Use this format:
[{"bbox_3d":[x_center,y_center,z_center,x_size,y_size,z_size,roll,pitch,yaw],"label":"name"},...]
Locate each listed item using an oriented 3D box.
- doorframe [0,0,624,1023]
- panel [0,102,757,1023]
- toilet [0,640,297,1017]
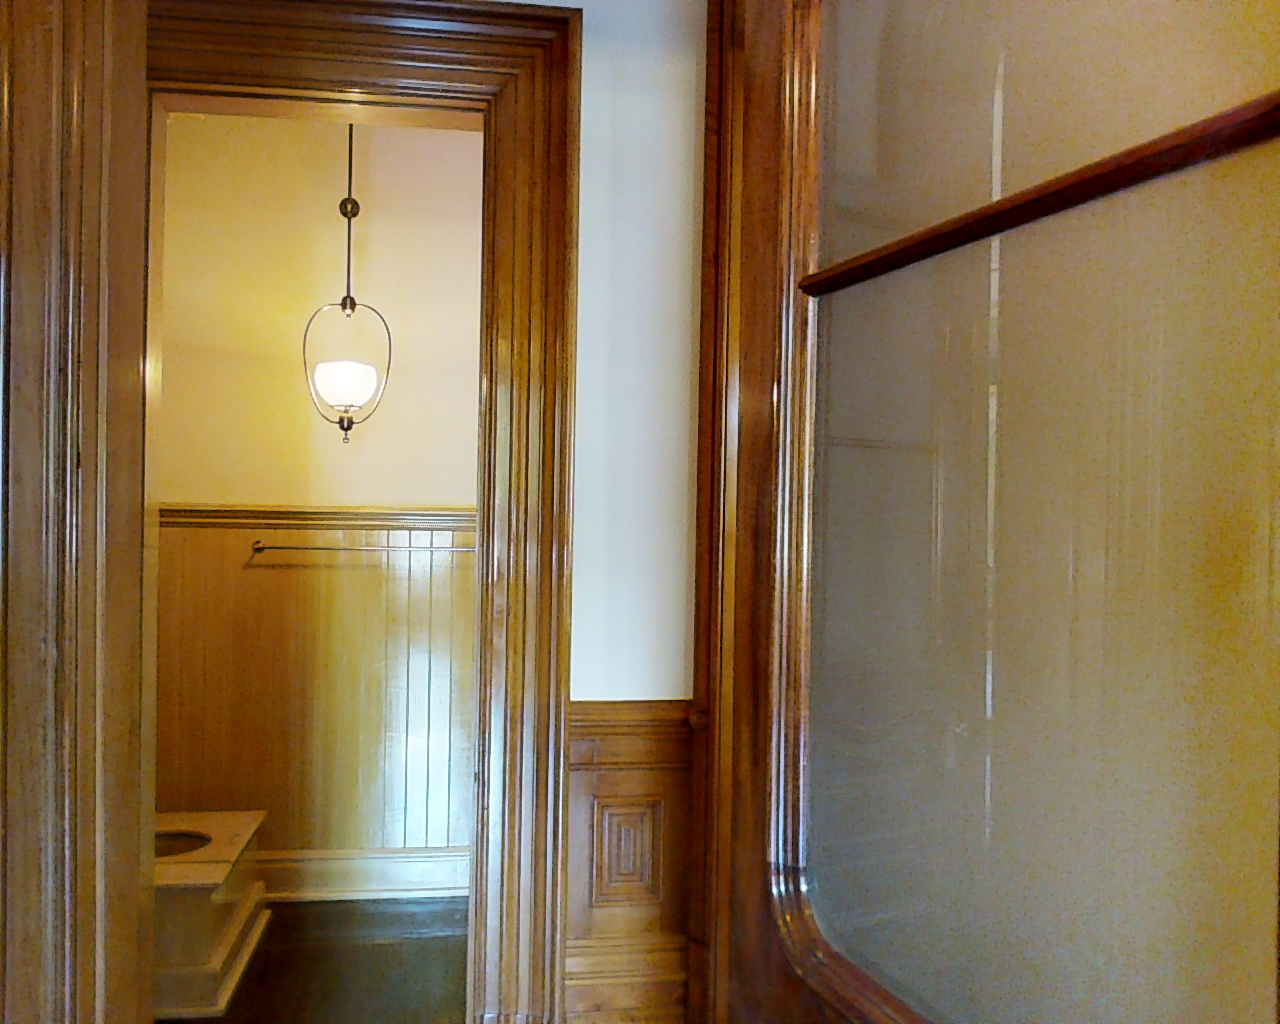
[{"bbox_3d":[-0.880,-0.020,3.040,1.580,3.050,0.550,1,0,-9],"label":"doorframe"},{"bbox_3d":[-1.060,0.180,3.940,2.670,2.720,1.360,1,0,-9],"label":"panel"},{"bbox_3d":[-1.690,1.000,3.710,0.820,1.000,0.960,1,0,-9],"label":"toilet"}]
